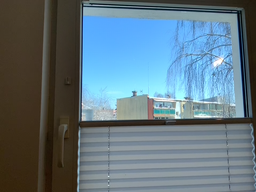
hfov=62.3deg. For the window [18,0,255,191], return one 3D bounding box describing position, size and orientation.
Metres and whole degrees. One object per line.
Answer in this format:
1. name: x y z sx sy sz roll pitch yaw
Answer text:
1. window: 0.110 0.090 0.700 0.810 1.100 0.170 1 -6 -9
